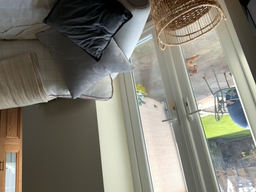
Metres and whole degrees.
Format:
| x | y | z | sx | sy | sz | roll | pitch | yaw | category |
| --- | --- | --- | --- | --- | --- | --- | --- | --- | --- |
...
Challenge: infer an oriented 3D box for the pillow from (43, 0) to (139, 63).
| x | y | z | sx | sy | sz | roll | pitch | yaw | category |
| --- | --- | --- | --- | --- | --- | --- | --- | --- | --- |
| -0.220 | -0.420 | 1.210 | 0.390 | 0.250 | 0.360 | 9 | 154 | -41 | pillow |
